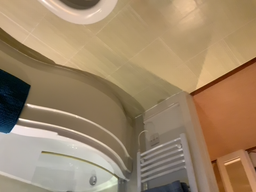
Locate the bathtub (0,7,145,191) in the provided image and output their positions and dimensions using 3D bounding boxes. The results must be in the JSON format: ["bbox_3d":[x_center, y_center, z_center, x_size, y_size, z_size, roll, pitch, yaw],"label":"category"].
[{"bbox_3d":[-0.770,0.150,1.620,0.910,0.600,1.670,-32,128,29],"label":"bathtub"}]
